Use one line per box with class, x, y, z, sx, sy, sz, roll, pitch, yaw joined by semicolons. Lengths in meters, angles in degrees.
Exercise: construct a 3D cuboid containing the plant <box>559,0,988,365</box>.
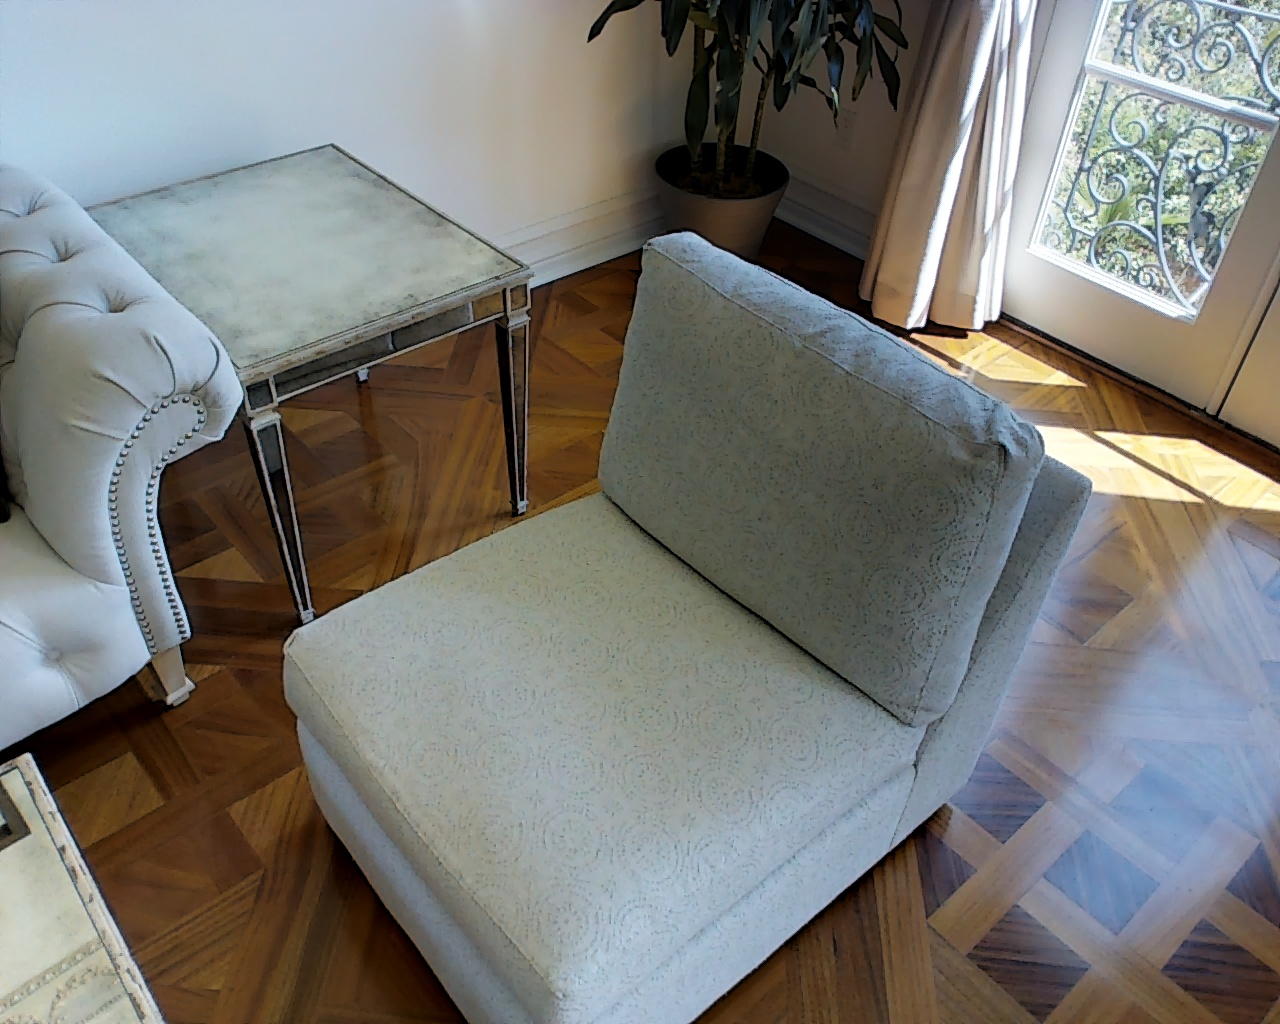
plant;0.370;-1.590;2.670;0.880;2.170;0.730;-28;50;-31
